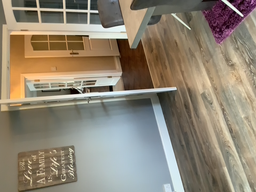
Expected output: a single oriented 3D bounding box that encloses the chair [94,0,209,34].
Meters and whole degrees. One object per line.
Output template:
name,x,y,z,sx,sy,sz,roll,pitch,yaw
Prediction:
chair,0.200,-0.940,1.990,0.530,0.910,0.440,122,139,-61
